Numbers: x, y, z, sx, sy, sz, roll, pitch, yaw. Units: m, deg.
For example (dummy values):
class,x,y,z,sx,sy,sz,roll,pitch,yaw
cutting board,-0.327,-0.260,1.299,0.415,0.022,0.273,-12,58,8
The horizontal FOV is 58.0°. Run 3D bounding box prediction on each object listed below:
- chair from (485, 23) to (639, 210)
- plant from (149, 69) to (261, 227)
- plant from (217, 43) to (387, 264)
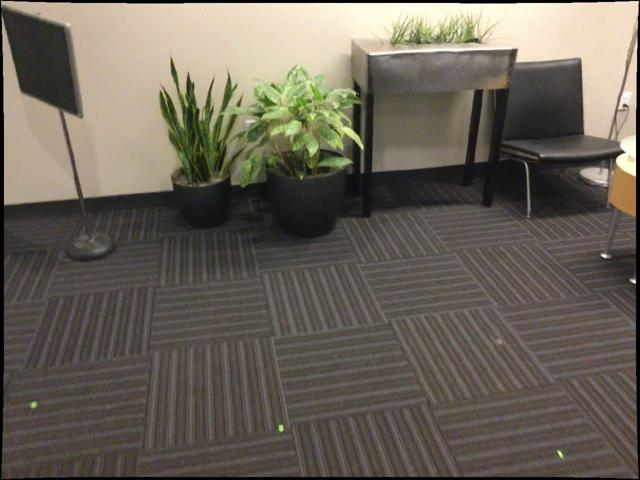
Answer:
class,x,y,z,sx,sy,sz,roll,pitch,yaw
chair,1.377,-0.702,3.180,0.639,0.731,0.690,-11,33,-6
plant,-0.609,-0.501,3.140,0.439,0.691,0.400,-11,33,-6
plant,-0.110,-0.481,3.000,0.679,0.781,0.810,-11,33,-6
